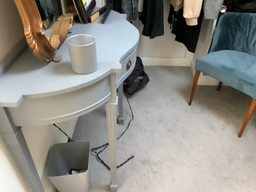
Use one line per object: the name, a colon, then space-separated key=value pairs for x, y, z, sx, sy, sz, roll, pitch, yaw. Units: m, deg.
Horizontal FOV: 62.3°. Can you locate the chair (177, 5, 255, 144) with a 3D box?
chair: x=0.780 y=-0.180 z=1.490 sx=0.520 sy=0.690 sz=0.540 roll=-24 pitch=44 yaw=-30
